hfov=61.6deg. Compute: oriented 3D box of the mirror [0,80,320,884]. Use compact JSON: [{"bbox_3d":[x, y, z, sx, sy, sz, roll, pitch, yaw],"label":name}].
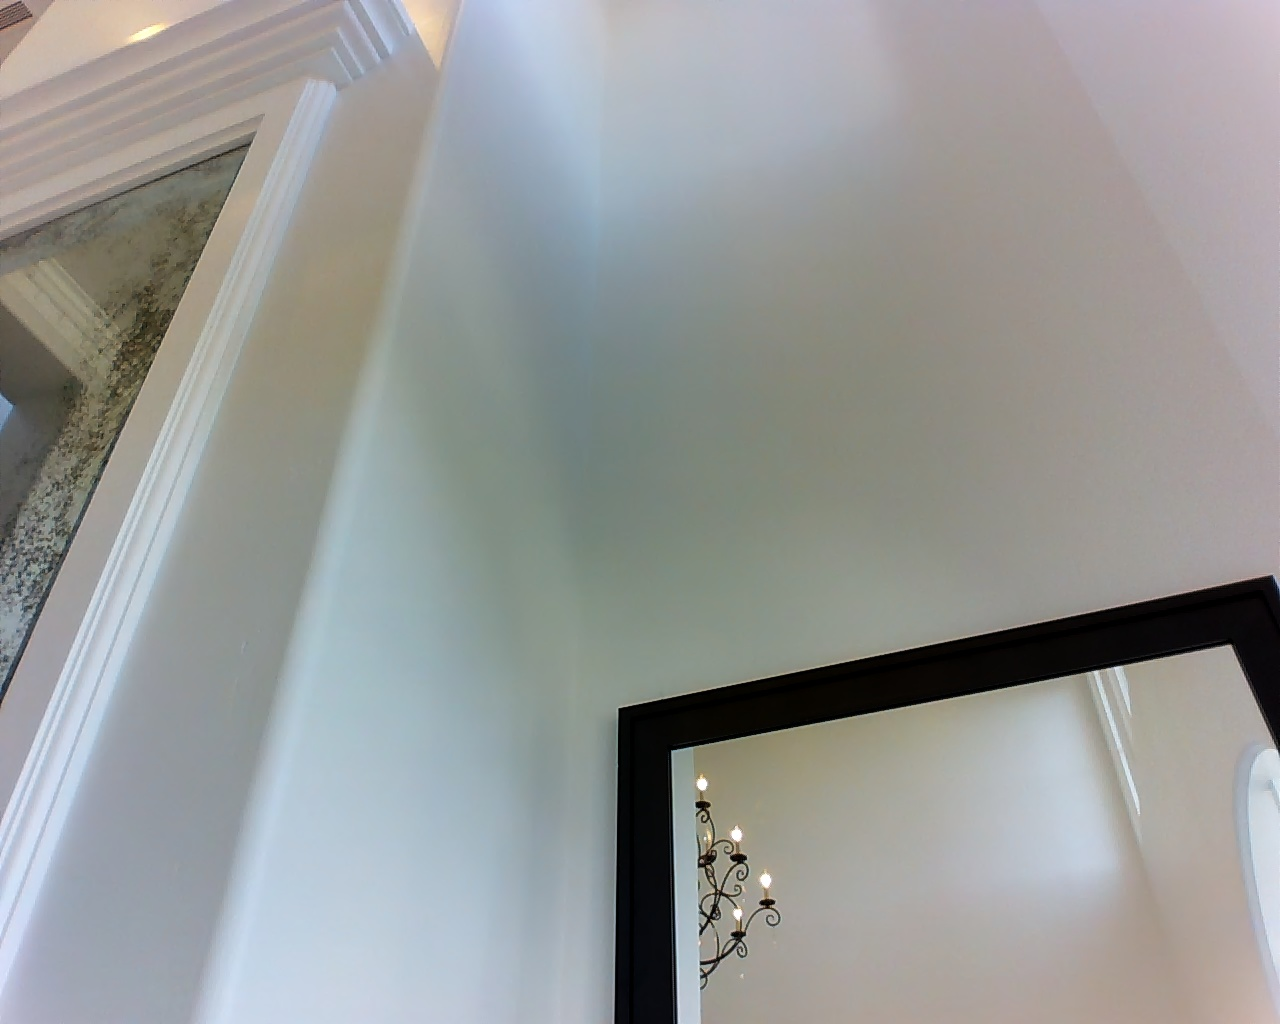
[{"bbox_3d":[-1.429,0.050,2.010,1.349,2.411,0.060,-15,-44,17],"label":"mirror"}]
